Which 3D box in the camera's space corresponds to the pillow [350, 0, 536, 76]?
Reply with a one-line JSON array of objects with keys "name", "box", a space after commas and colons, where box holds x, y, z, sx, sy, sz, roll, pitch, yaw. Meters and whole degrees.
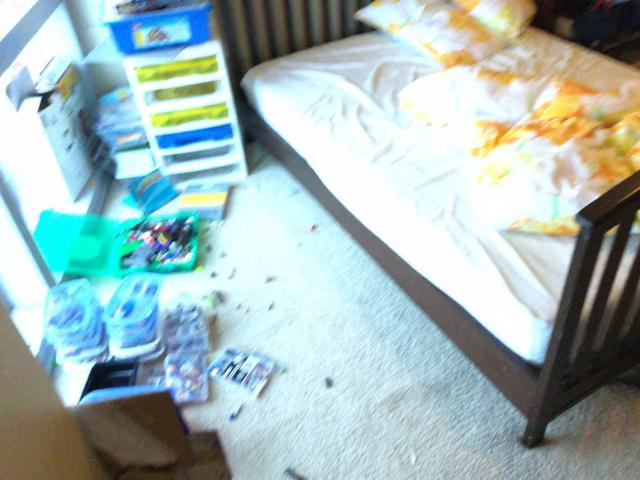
[{"name": "pillow", "box": [0.510, -1.070, 2.550, 0.490, 0.330, 0.700, -23, 42, -15]}]
